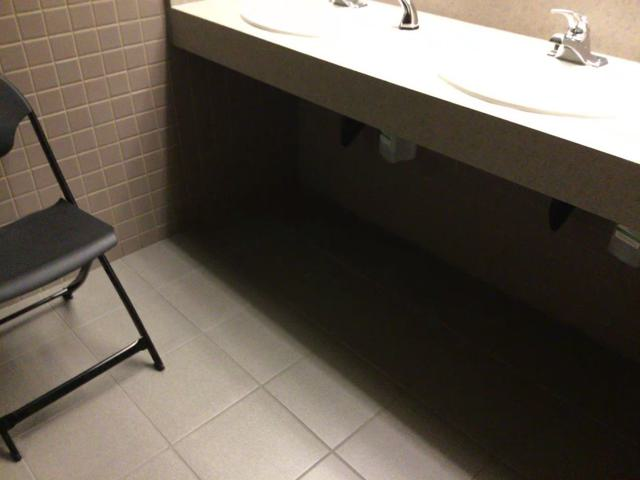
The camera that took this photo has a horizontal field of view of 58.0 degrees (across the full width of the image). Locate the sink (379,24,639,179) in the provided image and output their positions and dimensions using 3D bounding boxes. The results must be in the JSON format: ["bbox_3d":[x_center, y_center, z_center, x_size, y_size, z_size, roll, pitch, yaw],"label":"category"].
[{"bbox_3d":[0.530,-0.370,1.380,0.490,0.150,0.590,-26,39,-38],"label":"sink"}]

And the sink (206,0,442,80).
[{"bbox_3d":[0.010,-0.680,1.840,0.500,0.150,0.540,-26,39,-38],"label":"sink"}]

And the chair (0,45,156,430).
[{"bbox_3d":[-0.840,-0.040,1.530,0.460,0.780,0.560,-26,39,-38],"label":"chair"}]

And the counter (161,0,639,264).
[{"bbox_3d":[0.540,-0.400,1.380,0.620,0.460,2.380,-26,39,-38],"label":"counter"}]
